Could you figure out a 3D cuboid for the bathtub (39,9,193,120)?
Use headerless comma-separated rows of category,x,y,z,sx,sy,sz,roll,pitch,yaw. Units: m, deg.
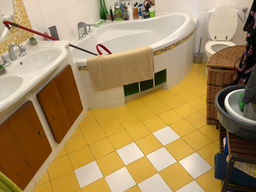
bathtub,0.020,-0.530,2.740,1.450,0.750,1.440,5,36,16

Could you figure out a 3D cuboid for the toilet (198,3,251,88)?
toilet,1.170,-0.660,2.710,0.430,0.830,0.710,5,36,16

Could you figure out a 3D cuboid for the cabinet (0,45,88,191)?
cabinet,-0.860,0.190,1.810,0.390,0.790,1.260,5,36,16
